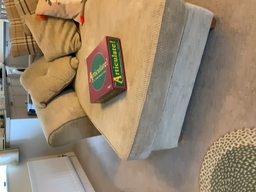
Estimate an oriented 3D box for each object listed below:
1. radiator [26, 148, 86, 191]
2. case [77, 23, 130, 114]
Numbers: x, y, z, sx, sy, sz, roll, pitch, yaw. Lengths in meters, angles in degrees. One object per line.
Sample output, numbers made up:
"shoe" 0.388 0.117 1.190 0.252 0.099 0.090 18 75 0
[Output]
"radiator" -0.910 0.910 2.600 0.830 0.520 0.110 28 113 54
"case" -0.150 -0.120 1.110 0.370 0.080 0.330 -36 59 51
